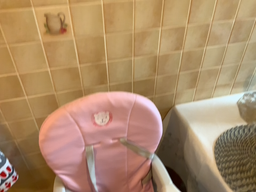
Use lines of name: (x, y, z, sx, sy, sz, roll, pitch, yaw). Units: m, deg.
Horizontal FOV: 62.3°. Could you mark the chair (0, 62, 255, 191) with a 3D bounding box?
chair: (-0.030, 0.510, 0.810, 0.600, 0.990, 0.690, -9, 39, -11)
